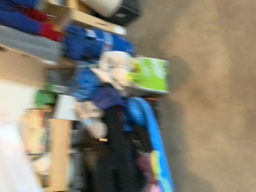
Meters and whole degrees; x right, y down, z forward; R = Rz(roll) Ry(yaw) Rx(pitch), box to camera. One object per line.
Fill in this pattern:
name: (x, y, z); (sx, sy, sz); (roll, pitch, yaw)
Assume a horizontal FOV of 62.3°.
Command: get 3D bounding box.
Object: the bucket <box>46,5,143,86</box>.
bucket: (-0.350, -0.440, 2.180); (0.650, 0.720, 0.430); (-18, 70, 47)
